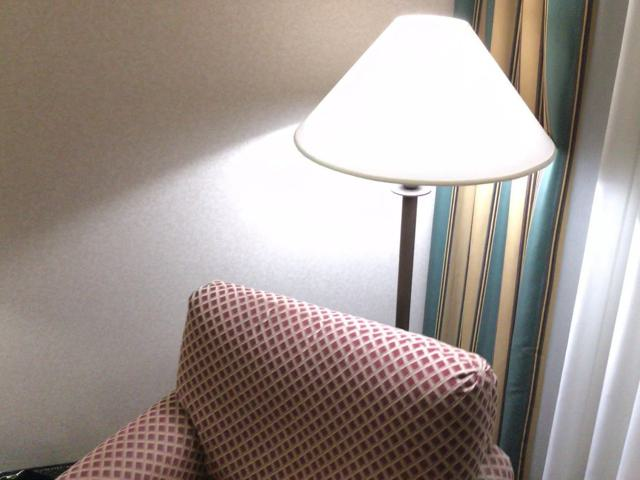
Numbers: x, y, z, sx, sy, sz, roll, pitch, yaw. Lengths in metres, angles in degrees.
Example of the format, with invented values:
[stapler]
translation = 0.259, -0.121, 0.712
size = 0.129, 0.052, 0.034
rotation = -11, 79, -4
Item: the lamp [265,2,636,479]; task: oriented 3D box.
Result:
[lamp]
translation = 0.220, 0.250, 1.450
size = 0.590, 1.550, 0.490
rotation = -5, 21, -11
